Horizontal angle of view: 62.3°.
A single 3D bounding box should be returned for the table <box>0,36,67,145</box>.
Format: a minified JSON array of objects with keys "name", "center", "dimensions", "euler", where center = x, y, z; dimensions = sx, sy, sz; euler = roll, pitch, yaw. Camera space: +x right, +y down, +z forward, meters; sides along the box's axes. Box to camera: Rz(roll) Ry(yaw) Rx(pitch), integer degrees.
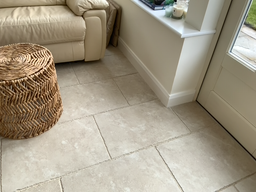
[{"name":"table","center":[-0.690,-0.050,1.380],"dimensions":[0.460,0.460,0.470],"euler":[-10,43,-17]}]
